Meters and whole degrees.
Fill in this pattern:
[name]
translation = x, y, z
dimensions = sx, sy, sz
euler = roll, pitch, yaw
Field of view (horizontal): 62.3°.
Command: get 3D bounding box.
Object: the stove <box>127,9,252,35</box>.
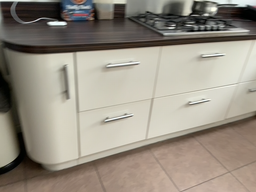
[stove]
translation = 0.440, -0.570, 1.590
dimensions = 0.730, 0.050, 0.550
euler = -9, 34, -23
